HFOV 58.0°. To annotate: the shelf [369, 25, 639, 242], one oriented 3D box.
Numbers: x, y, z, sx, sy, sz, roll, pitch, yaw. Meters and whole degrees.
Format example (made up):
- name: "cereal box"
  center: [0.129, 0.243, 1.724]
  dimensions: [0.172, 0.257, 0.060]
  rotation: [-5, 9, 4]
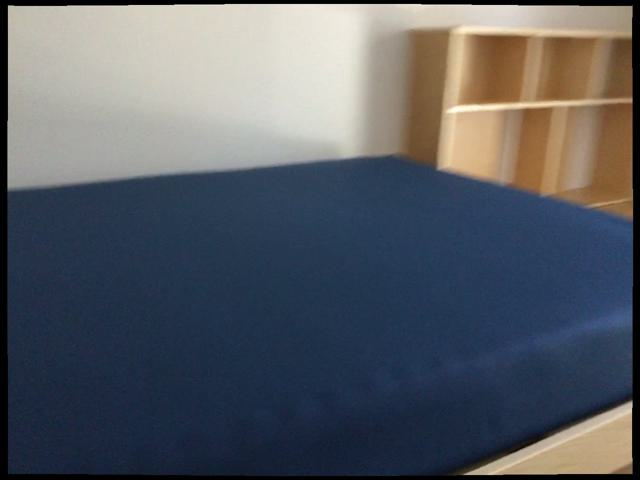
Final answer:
- name: "shelf"
  center: [0.838, -0.491, 2.470]
  dimensions: [1.238, 0.771, 0.320]
  rotation: [-9, 21, -26]
